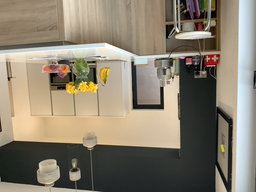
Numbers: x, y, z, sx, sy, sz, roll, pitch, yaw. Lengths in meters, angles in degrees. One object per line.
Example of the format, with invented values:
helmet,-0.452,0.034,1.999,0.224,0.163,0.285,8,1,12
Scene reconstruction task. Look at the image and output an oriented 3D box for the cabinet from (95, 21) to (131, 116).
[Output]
cabinet,-0.340,-0.630,5.230,0.630,2.170,0.600,0,-173,15
